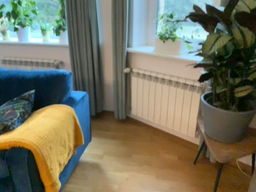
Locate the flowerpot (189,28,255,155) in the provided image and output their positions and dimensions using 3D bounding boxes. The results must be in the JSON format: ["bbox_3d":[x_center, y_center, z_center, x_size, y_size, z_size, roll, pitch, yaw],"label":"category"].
[{"bbox_3d":[0.750,-0.050,1.560,0.420,0.810,0.440,3,24,6],"label":"flowerpot"}]

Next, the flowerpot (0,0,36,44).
[{"bbox_3d":[-1.460,-0.990,2.710,0.370,0.580,0.230,4,24,7],"label":"flowerpot"}]
